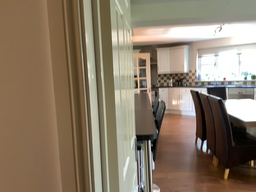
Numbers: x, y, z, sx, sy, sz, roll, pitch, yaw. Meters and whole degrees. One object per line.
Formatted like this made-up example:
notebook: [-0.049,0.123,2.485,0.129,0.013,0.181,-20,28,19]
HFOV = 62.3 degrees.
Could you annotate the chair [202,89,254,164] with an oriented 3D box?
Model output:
chair: [1.430,0.420,3.100,0.550,1.000,0.450,-2,6,5]

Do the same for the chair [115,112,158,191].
chair: [0.080,0.640,1.880,0.320,0.930,0.330,-2,6,1]

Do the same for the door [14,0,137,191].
door: [-0.080,0.230,0.900,0.160,1.910,0.910,-2,6,5]

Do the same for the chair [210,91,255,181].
chair: [1.380,0.470,2.650,0.550,1.000,0.450,-2,6,5]
